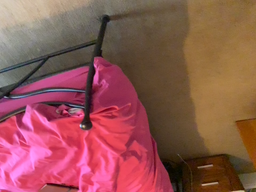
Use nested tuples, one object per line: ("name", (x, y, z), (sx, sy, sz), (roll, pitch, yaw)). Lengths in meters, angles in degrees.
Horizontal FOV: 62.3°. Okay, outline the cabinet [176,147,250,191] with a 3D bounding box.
("cabinet", (0.840, 0.870, 2.160), (0.570, 0.390, 0.510), (-12, 131, 13))
